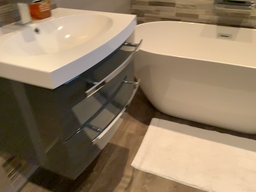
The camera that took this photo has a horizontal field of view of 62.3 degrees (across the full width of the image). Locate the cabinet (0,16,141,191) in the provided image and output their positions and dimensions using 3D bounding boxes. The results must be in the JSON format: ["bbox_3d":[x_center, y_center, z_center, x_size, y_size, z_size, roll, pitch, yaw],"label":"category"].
[{"bbox_3d":[-0.280,-0.040,0.990,0.480,0.450,0.640,13,37,18],"label":"cabinet"}]
